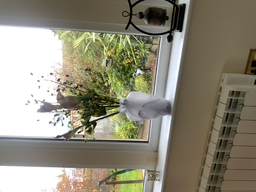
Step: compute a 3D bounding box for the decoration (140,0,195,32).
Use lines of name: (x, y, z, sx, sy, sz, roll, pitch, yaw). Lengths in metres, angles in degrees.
decoration: (0.200, -0.450, 1.170, 0.250, 0.230, 0.160, -105, 19, -74)

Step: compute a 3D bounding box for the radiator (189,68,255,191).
radiator: (0.740, 0.370, 1.270, 0.150, 0.610, 1.020, -103, 16, -72)
